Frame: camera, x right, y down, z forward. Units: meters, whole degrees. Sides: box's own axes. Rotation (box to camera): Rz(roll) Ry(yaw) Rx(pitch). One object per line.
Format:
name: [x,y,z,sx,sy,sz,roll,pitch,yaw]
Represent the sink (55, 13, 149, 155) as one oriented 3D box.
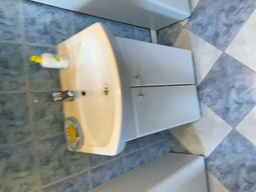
sink: [-0.130,-0.030,0.930,0.370,0.150,0.510,-8,88,41]
